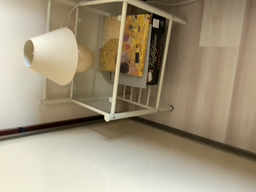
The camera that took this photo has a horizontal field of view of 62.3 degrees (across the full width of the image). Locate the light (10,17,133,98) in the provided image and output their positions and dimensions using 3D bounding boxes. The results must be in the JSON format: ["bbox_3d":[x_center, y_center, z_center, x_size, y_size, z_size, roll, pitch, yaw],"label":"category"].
[{"bbox_3d":[-0.230,-0.150,0.930,0.260,0.440,0.260,10,100,43],"label":"light"}]
